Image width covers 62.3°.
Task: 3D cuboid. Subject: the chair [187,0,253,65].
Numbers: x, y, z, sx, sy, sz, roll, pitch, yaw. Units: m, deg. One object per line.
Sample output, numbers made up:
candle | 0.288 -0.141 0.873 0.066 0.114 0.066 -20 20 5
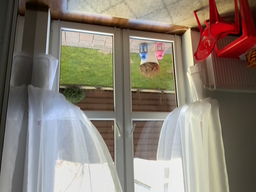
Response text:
chair | 0.800 -0.590 1.910 0.330 0.490 0.370 2 166 -15

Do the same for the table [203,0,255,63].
table | 1.140 -0.620 1.990 0.600 0.410 0.500 2 166 -15
